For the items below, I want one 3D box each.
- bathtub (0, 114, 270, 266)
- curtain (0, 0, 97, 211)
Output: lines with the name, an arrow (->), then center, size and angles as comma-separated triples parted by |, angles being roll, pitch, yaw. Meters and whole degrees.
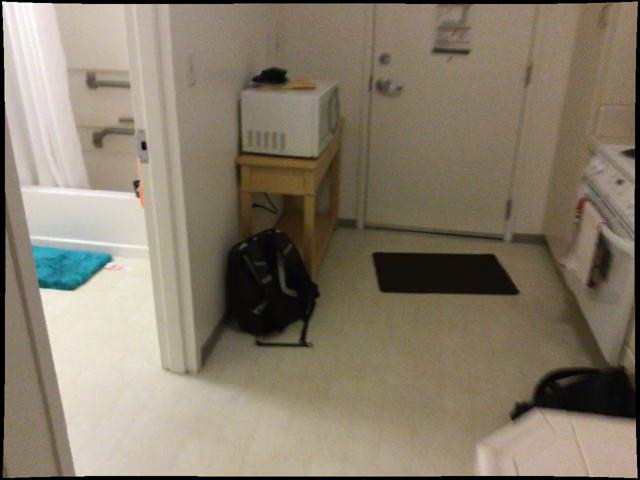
bathtub -> -1.109, -0.350, 3.540 | 1.459, 0.590, 0.760 | 6, 25, 8
curtain -> -1.588, -0.881, 3.110 | 0.490, 1.401, 0.280 | 6, 25, 8
